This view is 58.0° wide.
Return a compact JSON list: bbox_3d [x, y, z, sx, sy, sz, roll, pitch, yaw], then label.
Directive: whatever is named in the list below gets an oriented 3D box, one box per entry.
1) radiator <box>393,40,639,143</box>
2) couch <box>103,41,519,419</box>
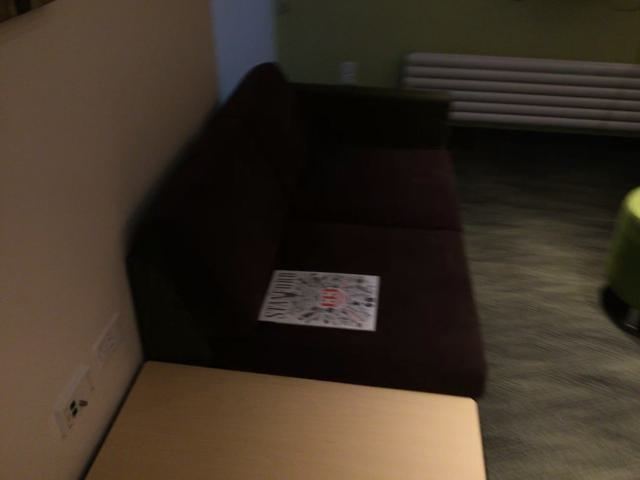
[{"bbox_3d":[1.200,-0.740,2.910,1.620,0.430,0.140,5,35,7],"label":"radiator"},{"bbox_3d":[0.060,-0.170,1.700,0.780,0.450,1.240,5,35,7],"label":"couch"}]
